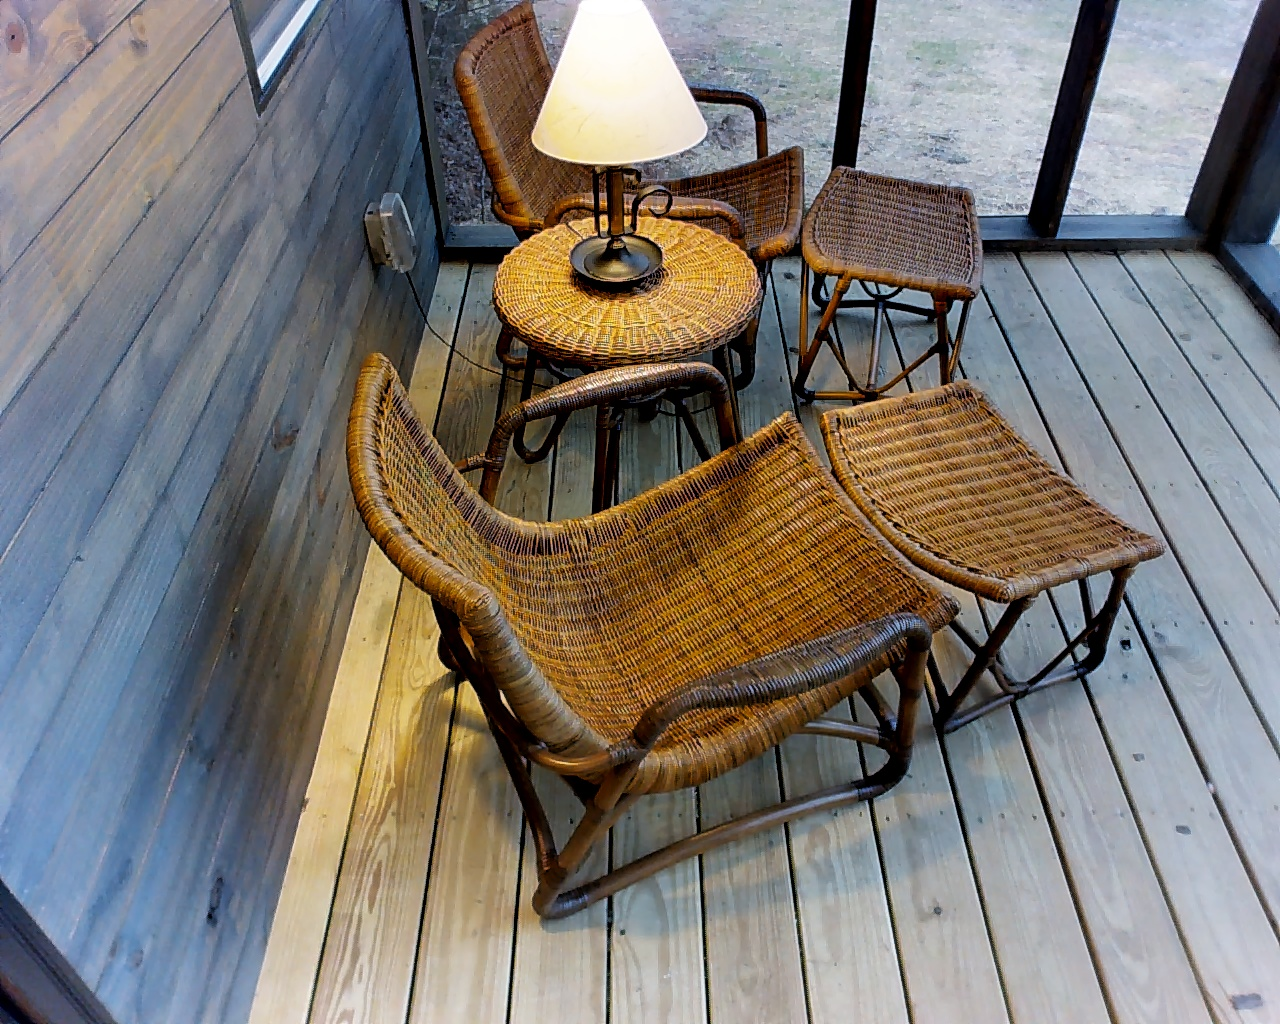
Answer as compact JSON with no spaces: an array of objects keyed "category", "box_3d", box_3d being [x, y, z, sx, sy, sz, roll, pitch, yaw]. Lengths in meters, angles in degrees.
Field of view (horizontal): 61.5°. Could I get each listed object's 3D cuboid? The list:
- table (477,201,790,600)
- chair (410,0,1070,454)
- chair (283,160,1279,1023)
[{"category":"table","box_3d":[-0.010,-0.250,2.250,0.530,0.510,0.700,0,42,0]},{"category":"chair","box_3d":[0.220,-0.710,2.590,1.260,0.740,0.770,4,43,5]},{"category":"chair","box_3d":[0.230,0.050,1.750,1.280,0.740,0.720,-19,46,-19]}]
